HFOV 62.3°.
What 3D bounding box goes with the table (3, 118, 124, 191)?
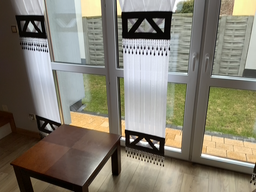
[{"bbox_3d":[-0.500,0.590,1.870,0.690,0.390,0.700,9,24,22],"label":"table"}]
